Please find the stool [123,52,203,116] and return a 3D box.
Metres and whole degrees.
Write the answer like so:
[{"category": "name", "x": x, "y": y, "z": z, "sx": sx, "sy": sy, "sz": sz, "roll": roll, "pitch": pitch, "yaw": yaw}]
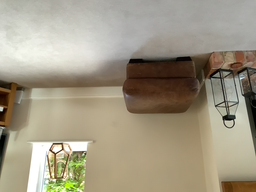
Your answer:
[{"category": "stool", "x": 0.290, "y": -0.080, "z": 2.050, "sx": 0.630, "sy": 0.390, "sz": 0.630, "roll": -1, "pitch": 160, "yaw": 2}]
